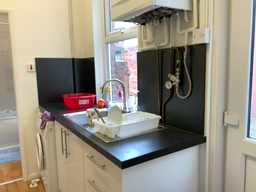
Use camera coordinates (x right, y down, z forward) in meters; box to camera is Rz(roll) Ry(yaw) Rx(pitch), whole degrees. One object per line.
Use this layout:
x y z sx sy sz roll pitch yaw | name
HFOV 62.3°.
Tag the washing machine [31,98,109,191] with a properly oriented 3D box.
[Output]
-0.700 0.560 2.530 0.660 0.950 0.690 -6 10 -34 | washing machine
